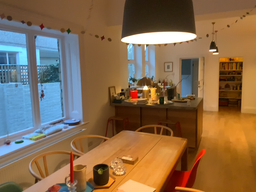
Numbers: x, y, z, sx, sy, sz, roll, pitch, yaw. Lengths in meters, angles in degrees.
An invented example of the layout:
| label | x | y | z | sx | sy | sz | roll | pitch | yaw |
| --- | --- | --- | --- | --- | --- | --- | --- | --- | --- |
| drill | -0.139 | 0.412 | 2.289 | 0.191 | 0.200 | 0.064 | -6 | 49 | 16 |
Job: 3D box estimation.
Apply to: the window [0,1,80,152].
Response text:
| label | x | y | z | sx | sy | sz | roll | pitch | yaw |
| --- | --- | --- | --- | --- | --- | --- | --- | --- | --- |
| window | -1.500 | -0.240 | 2.620 | 0.460 | 1.620 | 2.240 | 2 | 8 | 24 |

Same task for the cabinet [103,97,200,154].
| label | x | y | z | sx | sy | sz | roll | pitch | yaw |
| --- | --- | --- | --- | --- | --- | --- | --- | --- | --- |
| cabinet | 0.470 | 0.540 | 4.450 | 1.910 | 0.910 | 0.580 | 2 | 8 | 23 |
